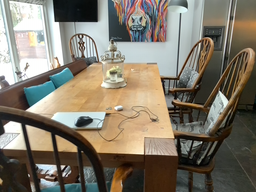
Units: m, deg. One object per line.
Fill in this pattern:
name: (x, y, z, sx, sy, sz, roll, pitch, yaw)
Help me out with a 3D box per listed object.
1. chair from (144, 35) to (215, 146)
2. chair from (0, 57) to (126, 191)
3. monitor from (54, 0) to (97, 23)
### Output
chair: (0.520, -0.080, 2.420, 0.600, 1.150, 0.520, -1, 19, -1)
chair: (-0.320, 0.460, 0.900, 0.570, 1.140, 0.620, 0, 20, 4)
monitor: (-0.860, -1.460, 3.540, 0.660, 0.370, 0.040, -14, 33, -19)
